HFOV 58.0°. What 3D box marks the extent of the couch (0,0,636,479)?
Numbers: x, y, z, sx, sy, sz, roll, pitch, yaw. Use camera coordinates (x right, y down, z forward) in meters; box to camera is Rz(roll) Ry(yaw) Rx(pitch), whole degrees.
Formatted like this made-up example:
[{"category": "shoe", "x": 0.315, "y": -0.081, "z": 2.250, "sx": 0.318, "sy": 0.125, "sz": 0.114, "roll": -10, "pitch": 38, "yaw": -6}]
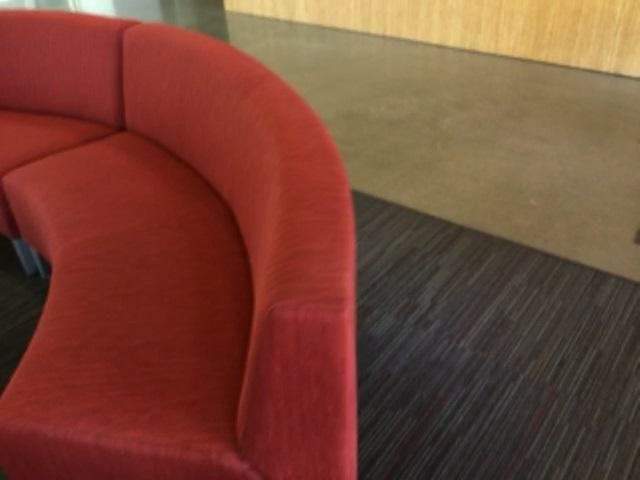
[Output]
[{"category": "couch", "x": -0.840, "y": -0.210, "z": 1.910, "sx": 2.950, "sy": 0.810, "sz": 1.270, "roll": 27, "pitch": 44, "yaw": 36}]
